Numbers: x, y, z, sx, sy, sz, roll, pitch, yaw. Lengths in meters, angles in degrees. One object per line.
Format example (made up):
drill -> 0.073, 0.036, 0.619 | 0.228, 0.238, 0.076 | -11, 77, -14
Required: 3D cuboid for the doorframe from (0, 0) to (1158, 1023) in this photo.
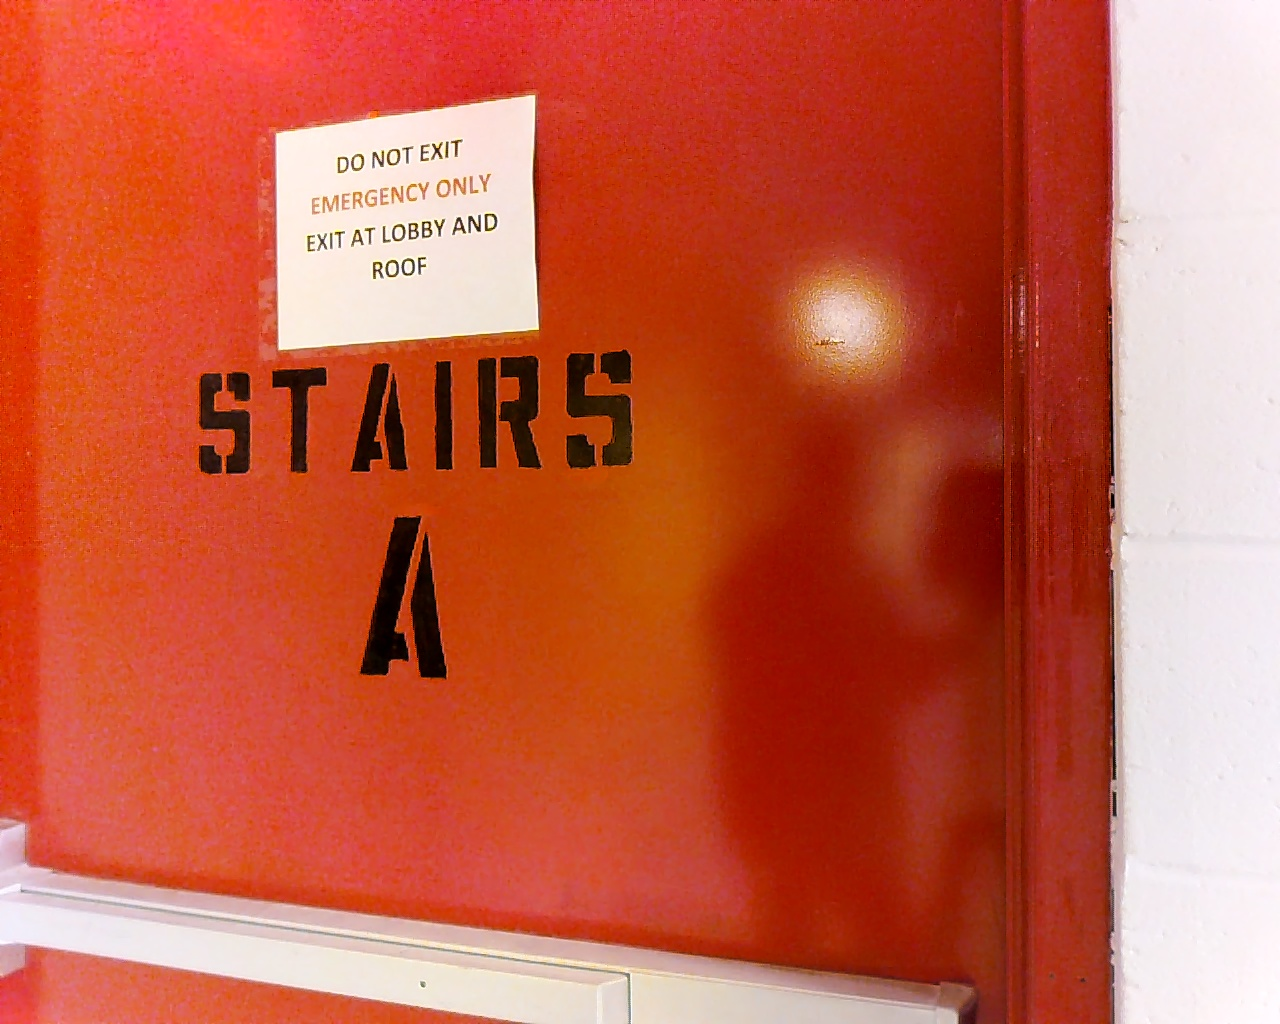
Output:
doorframe -> -0.240, 0.340, 0.930 | 1.230, 2.200, 0.170 | 0, -1, 17
